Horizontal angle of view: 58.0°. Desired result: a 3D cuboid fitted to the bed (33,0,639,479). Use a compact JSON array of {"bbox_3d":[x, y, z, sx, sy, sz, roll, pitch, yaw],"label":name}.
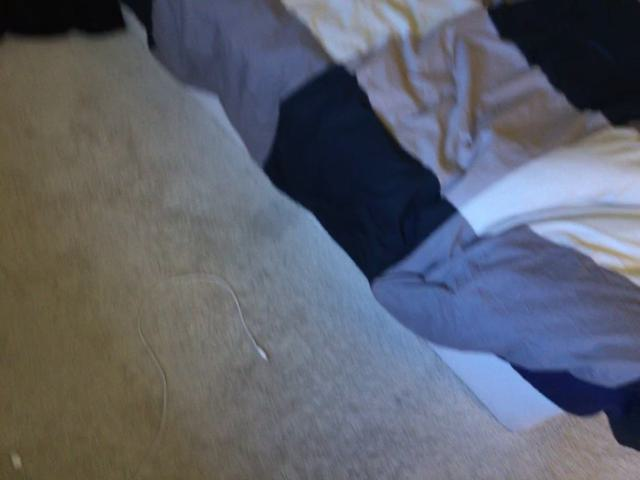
[{"bbox_3d":[0.420,-0.690,1.630,1.790,0.520,2.170,-34,68,-26],"label":"bed"}]
